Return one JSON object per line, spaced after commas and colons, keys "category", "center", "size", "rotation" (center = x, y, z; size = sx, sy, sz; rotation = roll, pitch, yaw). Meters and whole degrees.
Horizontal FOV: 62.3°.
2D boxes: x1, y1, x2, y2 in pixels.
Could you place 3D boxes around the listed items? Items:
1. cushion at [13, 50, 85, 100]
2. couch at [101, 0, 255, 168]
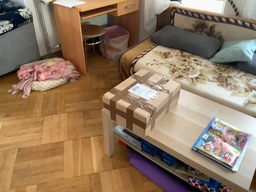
{"category": "cushion", "center": [-0.890, -0.270, 2.430], "size": [0.550, 0.180, 0.550], "rotation": [28, 44, 30]}
{"category": "couch", "center": [0.850, -0.200, 1.940], "size": [2.080, 0.810, 0.930], "rotation": [26, 43, 29]}
